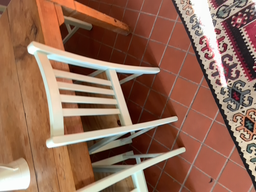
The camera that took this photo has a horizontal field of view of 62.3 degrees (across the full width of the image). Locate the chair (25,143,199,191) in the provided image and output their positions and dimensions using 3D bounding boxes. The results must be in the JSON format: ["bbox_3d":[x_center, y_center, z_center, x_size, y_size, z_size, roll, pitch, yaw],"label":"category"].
[{"bbox_3d":[-0.040,0.550,1.070,0.450,0.850,0.390,-24,76,37],"label":"chair"}]

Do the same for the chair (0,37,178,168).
[{"bbox_3d":[-0.170,0.050,1.180,0.450,0.840,0.400,-27,74,36],"label":"chair"}]

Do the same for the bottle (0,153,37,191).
[{"bbox_3d":[-0.580,0.390,0.960,0.230,0.200,0.180,-25,75,36],"label":"bottle"}]
